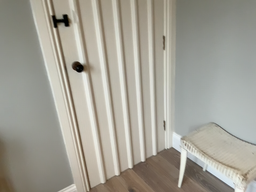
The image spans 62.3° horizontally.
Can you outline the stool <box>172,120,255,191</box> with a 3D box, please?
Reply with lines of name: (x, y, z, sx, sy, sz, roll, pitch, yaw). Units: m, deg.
stool: (0.600, 0.510, 1.380, 0.340, 0.450, 0.510, -19, 29, -28)
